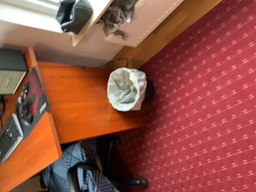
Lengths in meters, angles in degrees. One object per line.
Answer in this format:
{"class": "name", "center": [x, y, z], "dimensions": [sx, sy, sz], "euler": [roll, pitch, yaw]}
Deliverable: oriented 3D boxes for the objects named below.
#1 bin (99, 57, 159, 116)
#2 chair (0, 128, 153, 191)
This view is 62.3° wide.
{"class": "bin", "center": [0.000, -0.070, 1.540], "dimensions": [0.340, 0.190, 0.240], "euler": [51, 122, 28]}
{"class": "chair", "center": [-0.440, 0.840, 1.430], "dimensions": [0.710, 1.080, 0.860], "euler": [-42, 65, 34]}
